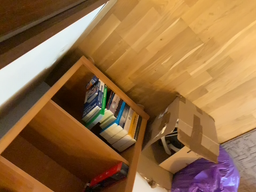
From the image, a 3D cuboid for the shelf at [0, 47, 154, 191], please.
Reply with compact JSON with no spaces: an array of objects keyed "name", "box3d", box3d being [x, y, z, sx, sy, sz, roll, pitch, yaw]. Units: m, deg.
[{"name":"shelf","box3d":[-0.400,0.570,0.730,0.670,2.020,0.430,42,123,-15]}]
